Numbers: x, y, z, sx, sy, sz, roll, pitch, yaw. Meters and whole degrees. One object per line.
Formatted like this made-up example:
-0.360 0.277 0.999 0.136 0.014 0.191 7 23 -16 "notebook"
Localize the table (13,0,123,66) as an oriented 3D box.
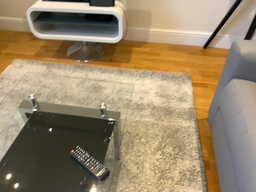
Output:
-0.500 -0.660 2.020 0.850 0.520 0.410 7 42 5 "table"
